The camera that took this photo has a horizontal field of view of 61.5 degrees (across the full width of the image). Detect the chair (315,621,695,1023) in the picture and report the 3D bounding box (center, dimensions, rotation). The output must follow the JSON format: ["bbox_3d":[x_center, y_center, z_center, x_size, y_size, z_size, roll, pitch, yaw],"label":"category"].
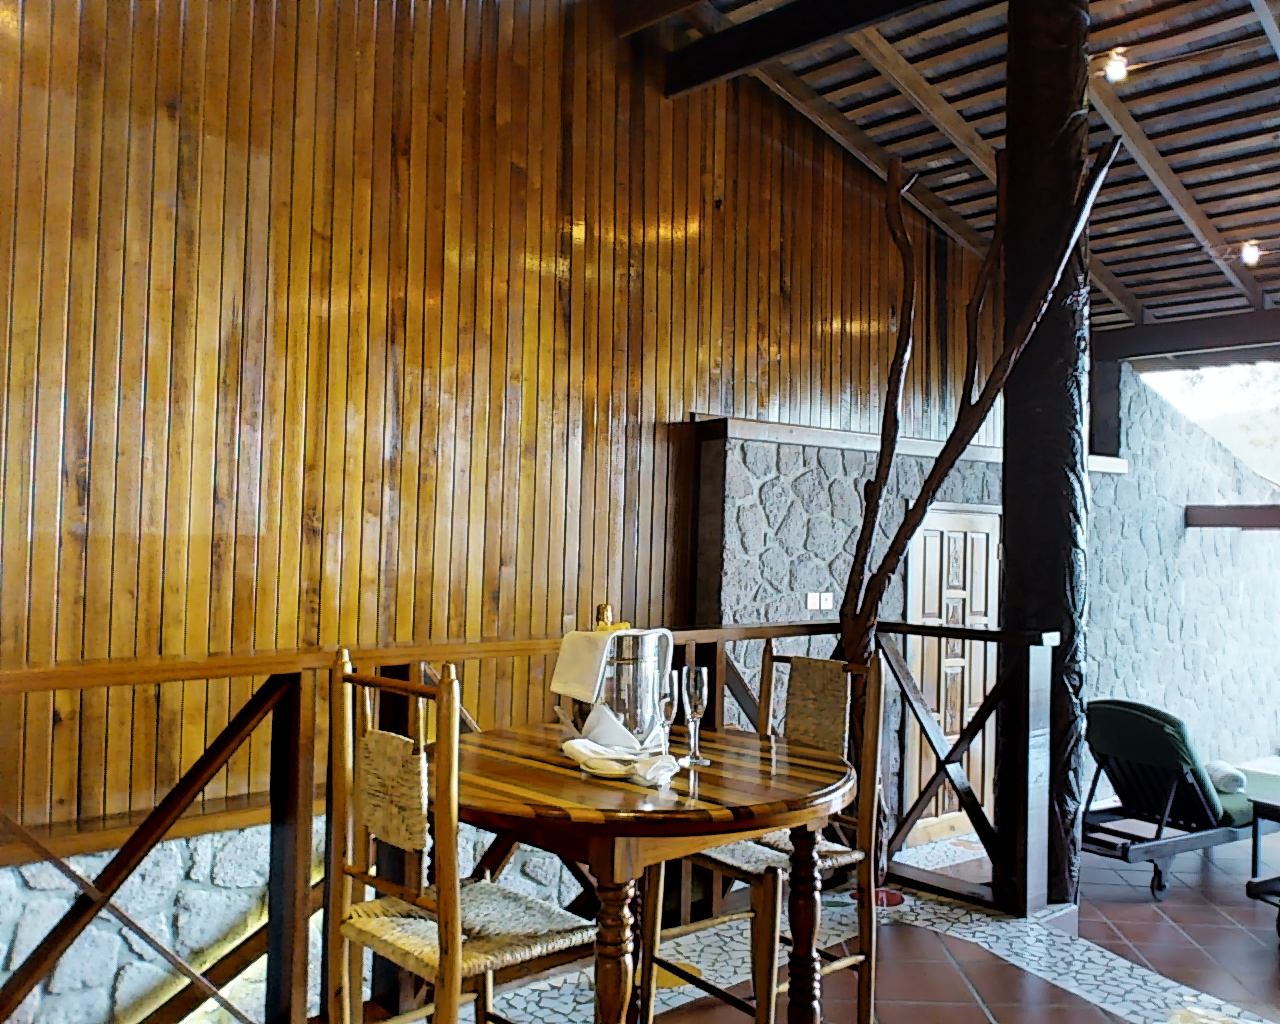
[{"bbox_3d":[-0.280,0.770,2.210,0.550,1.030,0.530,2,-2,-42],"label":"chair"}]
